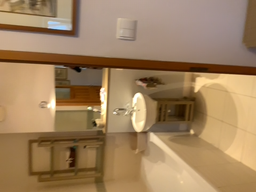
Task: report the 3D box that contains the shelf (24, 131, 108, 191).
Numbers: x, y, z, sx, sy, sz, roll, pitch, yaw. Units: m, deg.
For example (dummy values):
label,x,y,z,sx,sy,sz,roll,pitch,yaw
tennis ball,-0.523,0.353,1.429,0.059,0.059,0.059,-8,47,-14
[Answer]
label,x,y,z,sx,sy,sz,roll,pitch,yaw
shelf,-0.810,0.850,2.860,0.160,1.040,0.710,-148,61,-71

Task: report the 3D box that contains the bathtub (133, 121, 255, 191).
label,x,y,z,sx,sy,sz,roll,pitch,yaw
bathtub,0.640,0.970,2.440,1.880,0.560,0.860,-149,61,-71
